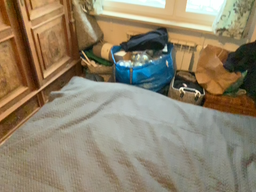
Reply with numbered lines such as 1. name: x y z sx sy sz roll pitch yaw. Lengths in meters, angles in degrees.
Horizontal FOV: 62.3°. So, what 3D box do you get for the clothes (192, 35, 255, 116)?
1. clothes: 1.090 -0.170 1.940 0.840 0.550 0.360 13 38 12
